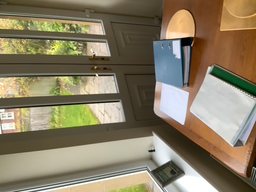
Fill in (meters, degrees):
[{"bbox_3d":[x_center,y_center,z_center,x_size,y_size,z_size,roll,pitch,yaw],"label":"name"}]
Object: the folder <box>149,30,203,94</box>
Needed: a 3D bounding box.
[{"bbox_3d":[0.290,-0.230,1.380,0.360,0.130,0.360,-148,58,-64],"label":"folder"}]
